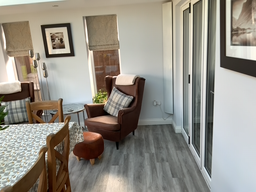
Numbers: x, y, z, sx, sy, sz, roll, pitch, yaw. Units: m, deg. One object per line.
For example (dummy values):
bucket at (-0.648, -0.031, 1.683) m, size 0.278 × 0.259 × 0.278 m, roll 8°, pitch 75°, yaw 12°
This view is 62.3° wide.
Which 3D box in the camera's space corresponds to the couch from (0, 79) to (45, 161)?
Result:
couch at (-1.910, 0.320, 3.480) m, size 0.790 × 0.970 × 1.060 m, roll -10°, pitch 16°, yaw -24°

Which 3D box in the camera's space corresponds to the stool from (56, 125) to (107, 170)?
stool at (-0.640, 0.690, 2.950) m, size 0.580 × 0.390 × 0.350 m, roll 6°, pitch 17°, yaw 31°

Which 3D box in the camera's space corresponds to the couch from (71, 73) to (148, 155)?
couch at (-0.250, 0.210, 3.500) m, size 0.800 × 1.000 × 0.940 m, roll 6°, pitch 17°, yaw 31°
